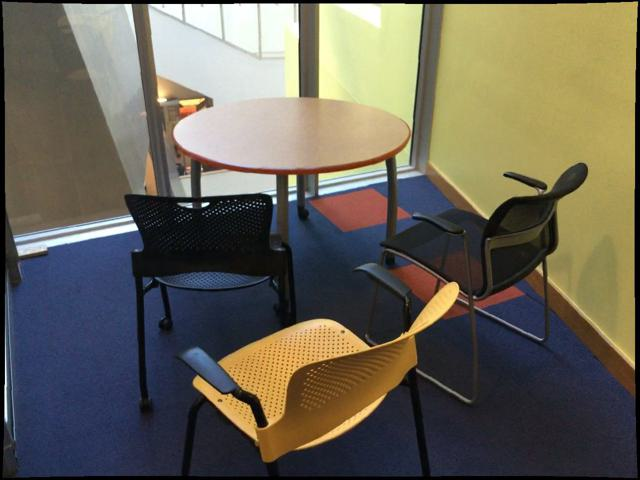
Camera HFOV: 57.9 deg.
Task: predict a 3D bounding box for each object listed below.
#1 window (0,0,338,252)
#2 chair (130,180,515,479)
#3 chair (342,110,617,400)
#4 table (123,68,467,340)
[{"bbox_3d":[-0.759,-0.621,2.980,1.699,1.051,0.310,-11,32,-19],"label":"window"},{"bbox_3d":[-0.020,0.380,1.470,0.630,0.791,0.590,-17,34,-28],"label":"chair"},{"bbox_3d":[0.539,0.000,2.110,0.650,0.691,0.620,-24,38,-36],"label":"chair"},{"bbox_3d":[-0.110,-0.290,2.770,1.070,0.681,1.120,27,39,37],"label":"table"}]
